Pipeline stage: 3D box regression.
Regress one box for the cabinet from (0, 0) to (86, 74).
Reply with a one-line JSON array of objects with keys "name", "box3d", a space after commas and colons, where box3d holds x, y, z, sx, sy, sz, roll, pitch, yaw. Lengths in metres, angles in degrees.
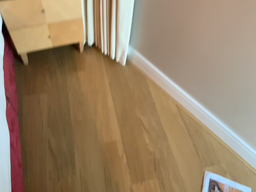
[{"name": "cabinet", "box3d": [-0.660, -0.600, 1.660, 0.510, 0.600, 0.500, -14, 58, -16]}]
